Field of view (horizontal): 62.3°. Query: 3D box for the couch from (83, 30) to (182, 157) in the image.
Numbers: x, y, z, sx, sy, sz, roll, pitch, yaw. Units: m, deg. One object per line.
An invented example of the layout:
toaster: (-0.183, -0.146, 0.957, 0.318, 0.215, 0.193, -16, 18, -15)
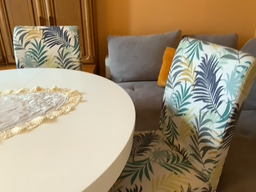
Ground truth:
couch: (0.010, -0.110, 1.950, 0.610, 0.810, 1.040, 0, 25, -2)
